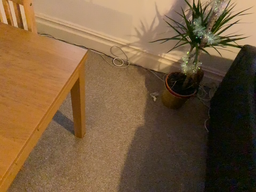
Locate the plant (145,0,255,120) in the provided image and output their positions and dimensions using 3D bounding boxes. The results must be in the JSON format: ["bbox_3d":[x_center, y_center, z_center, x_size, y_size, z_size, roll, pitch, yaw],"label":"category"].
[{"bbox_3d":[0.520,-0.450,1.190,0.470,1.500,0.350,16,53,1],"label":"plant"}]

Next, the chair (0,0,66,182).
[{"bbox_3d":[-0.660,-0.010,1.040,0.450,0.850,0.490,19,53,4],"label":"chair"}]
